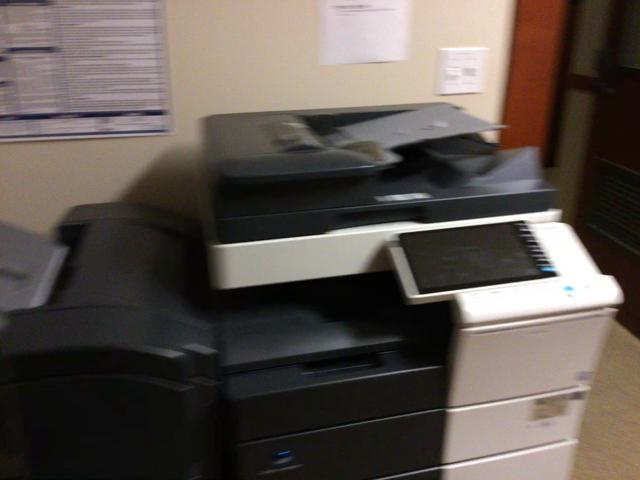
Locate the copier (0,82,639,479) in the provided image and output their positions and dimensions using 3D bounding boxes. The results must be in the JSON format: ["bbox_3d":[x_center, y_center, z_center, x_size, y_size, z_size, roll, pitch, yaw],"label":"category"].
[{"bbox_3d":[-0.120,0.340,1.210,1.120,1.150,0.650,-7,23,-11],"label":"copier"}]
